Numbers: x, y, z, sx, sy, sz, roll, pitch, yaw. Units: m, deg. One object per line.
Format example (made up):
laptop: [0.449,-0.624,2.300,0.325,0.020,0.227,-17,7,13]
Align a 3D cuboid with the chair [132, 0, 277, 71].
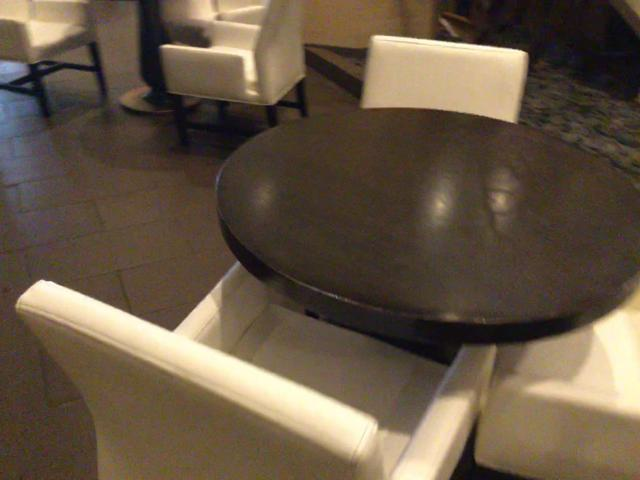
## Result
chair: [-0.710,-1.590,3.580,0.580,0.840,0.680,20,36,28]

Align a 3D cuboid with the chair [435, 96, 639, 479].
chair: [0.670,0.210,1.240,0.660,0.770,0.610,13,34,13]

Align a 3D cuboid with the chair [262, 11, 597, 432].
chair: [0.320,-0.130,1.800,0.700,0.870,0.880,13,34,13]

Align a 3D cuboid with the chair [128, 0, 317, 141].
chair: [-0.460,-1.070,2.960,0.730,0.820,0.660,11,34,10]
